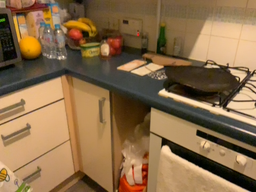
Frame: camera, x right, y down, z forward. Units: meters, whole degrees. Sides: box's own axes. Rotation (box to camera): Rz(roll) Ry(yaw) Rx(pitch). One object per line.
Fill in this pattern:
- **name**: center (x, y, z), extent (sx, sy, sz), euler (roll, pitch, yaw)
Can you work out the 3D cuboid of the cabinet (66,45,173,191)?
- **cabinet**: center (-0.030, 0.190, 1.480), extent (0.330, 0.930, 0.590), euler (22, 34, 34)
